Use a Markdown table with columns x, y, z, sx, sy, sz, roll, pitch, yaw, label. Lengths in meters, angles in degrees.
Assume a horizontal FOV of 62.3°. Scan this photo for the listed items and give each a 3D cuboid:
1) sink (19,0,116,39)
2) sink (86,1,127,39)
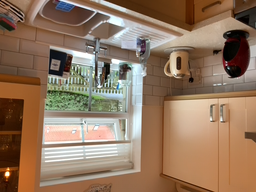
| x | y | z | sx | sy | sz | roll | pitch | yaw | label |
| --- | --- | --- | --- | --- | --- | --- | --- | --- | --- |
| -0.400 | -0.580 | 1.340 | 0.430 | 0.210 | 0.540 | 4 | 175 | -35 | sink |
| -0.160 | -0.530 | 1.520 | 0.160 | 0.130 | 0.310 | 4 | 175 | -35 | sink |
